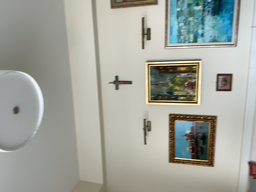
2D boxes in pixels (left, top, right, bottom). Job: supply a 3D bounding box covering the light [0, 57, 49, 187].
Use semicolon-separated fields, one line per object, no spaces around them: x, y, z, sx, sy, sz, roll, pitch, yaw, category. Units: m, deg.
-0.750;0.110;1.320;0.390;0.640;0.560;-7;-164;-17;light
